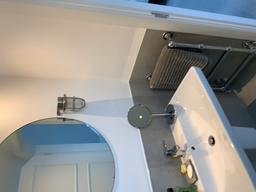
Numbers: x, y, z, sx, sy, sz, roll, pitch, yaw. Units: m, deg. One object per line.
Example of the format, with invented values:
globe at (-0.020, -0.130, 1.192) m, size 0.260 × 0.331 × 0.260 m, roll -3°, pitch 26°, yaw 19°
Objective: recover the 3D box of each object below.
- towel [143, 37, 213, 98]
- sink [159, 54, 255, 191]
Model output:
towel at (0.360, -0.200, 1.660) m, size 0.480 × 0.340 × 0.160 m, roll 111°, pitch 155°, yaw -48°
sink at (0.460, 0.220, 1.310) m, size 0.470 × 0.160 × 0.890 m, roll 110°, pitch 155°, yaw -47°
